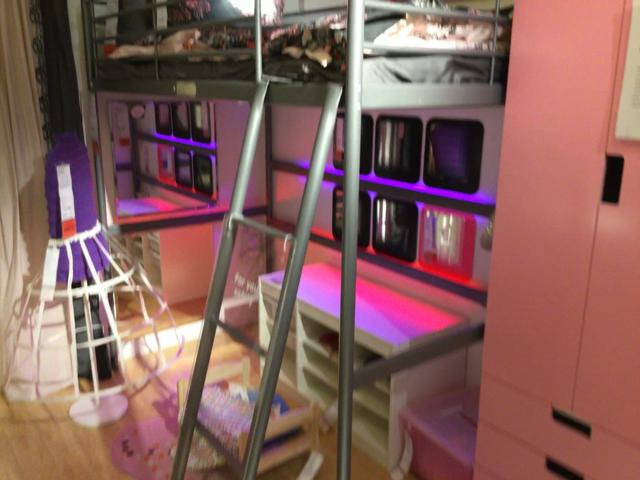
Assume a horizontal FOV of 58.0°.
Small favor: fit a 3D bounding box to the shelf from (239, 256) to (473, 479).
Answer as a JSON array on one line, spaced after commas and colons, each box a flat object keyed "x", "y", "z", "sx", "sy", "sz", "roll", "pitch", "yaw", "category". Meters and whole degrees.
[{"x": 0.110, "y": 0.510, "z": 2.730, "sx": 0.470, "sy": 0.600, "sz": 1.100, "roll": -10, "pitch": 16, "yaw": -37, "category": "shelf"}]

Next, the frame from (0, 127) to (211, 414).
[{"x": -0.960, "y": 0.050, "z": 2.500, "sx": 0.710, "sy": 1.030, "sz": 0.610, "roll": -10, "pitch": 16, "yaw": -37, "category": "frame"}]
